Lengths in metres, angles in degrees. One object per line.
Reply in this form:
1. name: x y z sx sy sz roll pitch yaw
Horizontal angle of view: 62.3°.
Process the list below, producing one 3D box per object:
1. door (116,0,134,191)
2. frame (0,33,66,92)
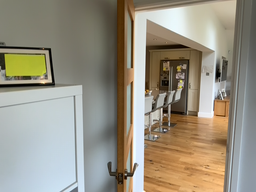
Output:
1. door: -0.010 0.240 1.450 0.070 1.860 0.900 1 8 1
2. frame: -0.450 -0.120 0.780 0.310 0.170 0.290 6 9 31
